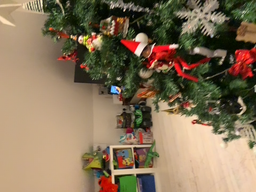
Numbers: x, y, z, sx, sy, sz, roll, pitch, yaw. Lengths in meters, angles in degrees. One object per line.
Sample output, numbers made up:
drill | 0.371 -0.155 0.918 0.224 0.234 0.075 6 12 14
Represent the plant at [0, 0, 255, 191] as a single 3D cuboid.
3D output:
plant | 0.390 -0.070 1.050 1.270 1.530 1.180 131 139 -65
